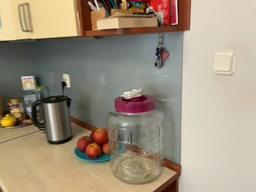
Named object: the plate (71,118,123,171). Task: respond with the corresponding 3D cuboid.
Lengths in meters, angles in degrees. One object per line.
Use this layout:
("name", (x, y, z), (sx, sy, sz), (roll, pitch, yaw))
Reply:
("plate", (-0.170, 0.250, 1.150), (0.230, 0.170, 0.160), (13, 21, 43))
